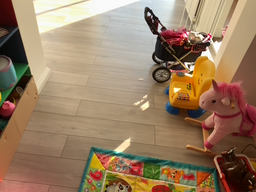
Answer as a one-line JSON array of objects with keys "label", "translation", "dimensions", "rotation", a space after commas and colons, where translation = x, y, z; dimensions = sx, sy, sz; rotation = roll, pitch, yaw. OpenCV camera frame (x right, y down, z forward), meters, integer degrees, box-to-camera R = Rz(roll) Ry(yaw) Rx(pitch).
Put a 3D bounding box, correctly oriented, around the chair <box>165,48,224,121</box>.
[{"label": "chair", "translation": [0.540, -0.110, 1.860], "dimensions": [0.350, 0.400, 0.450], "rotation": [9, 42, 1]}]
